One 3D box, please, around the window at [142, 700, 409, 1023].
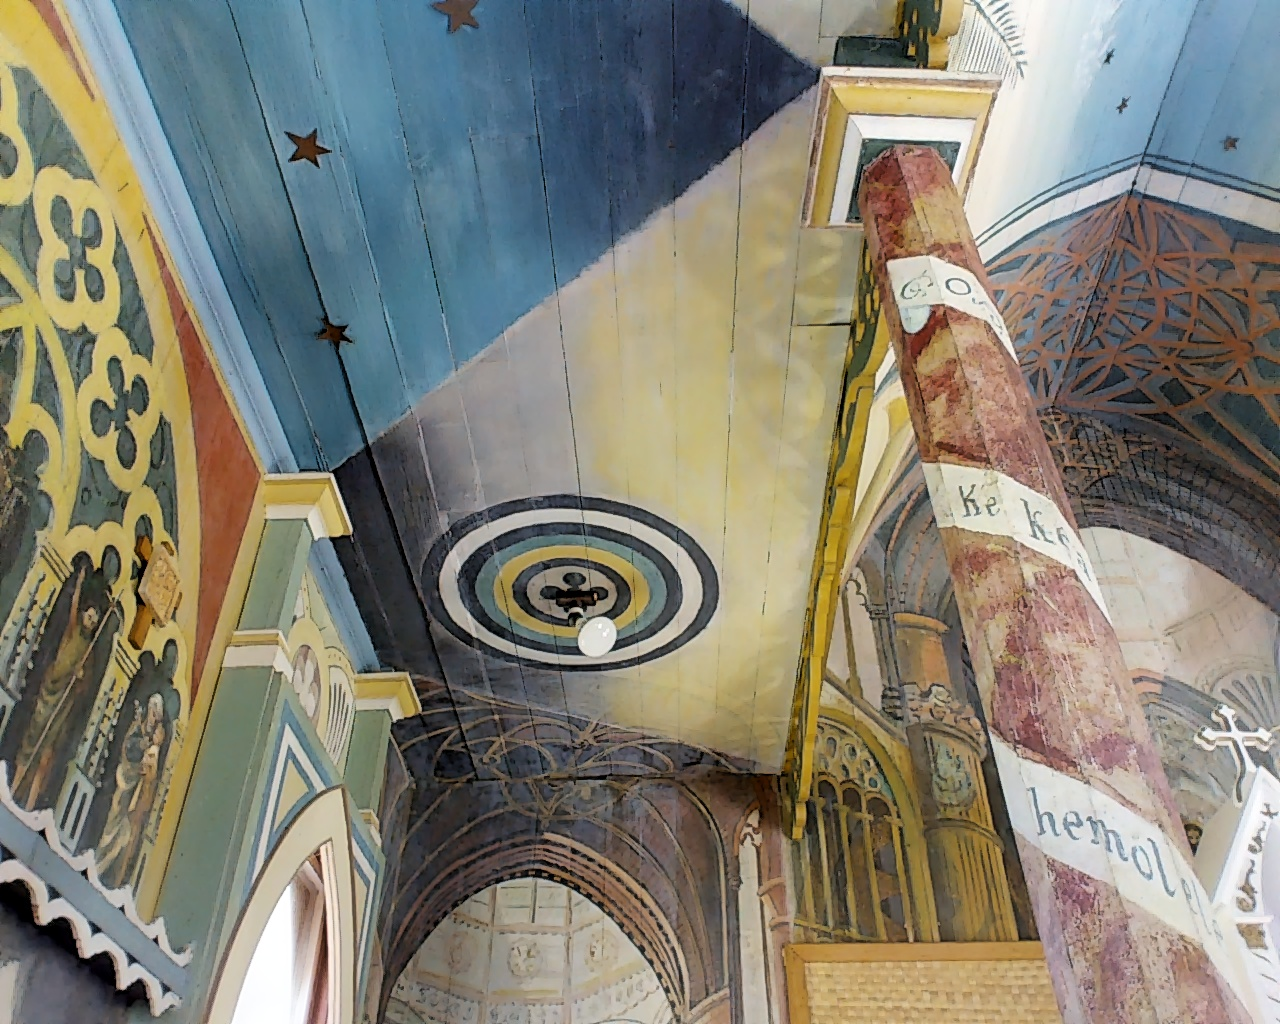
[{"bbox_3d":[-0.830,1.480,2.290,0.190,1.850,1.040,-1,-40,2],"label":"window"}]
